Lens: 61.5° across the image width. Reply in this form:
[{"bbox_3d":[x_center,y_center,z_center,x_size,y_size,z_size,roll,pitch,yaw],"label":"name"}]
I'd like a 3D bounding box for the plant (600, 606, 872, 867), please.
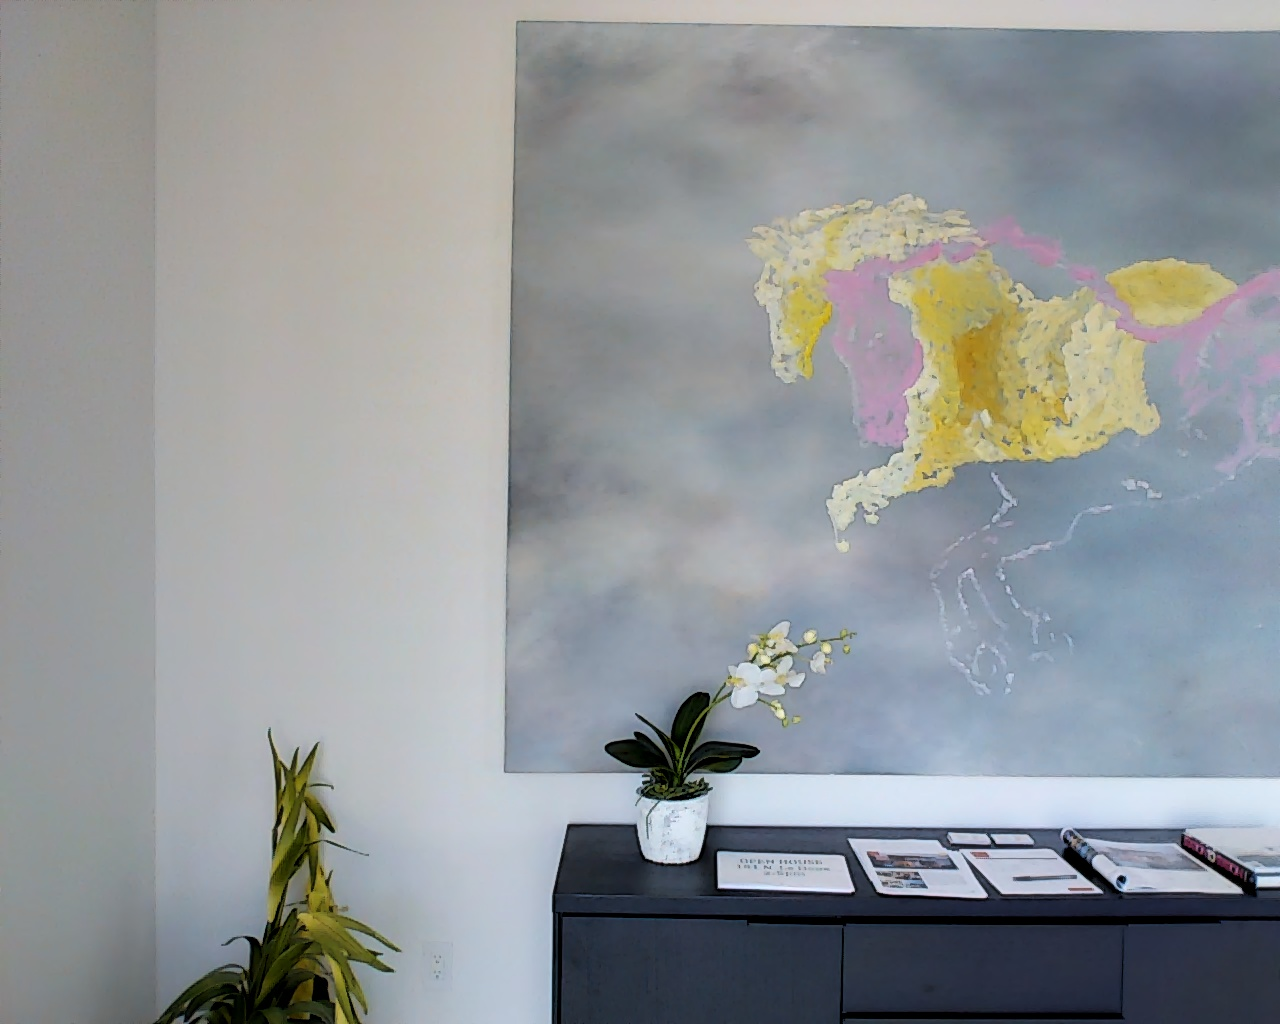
[{"bbox_3d":[0.220,0.520,2.590,0.610,0.550,0.320,0,1,2],"label":"plant"}]

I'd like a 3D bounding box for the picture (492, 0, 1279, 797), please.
[{"bbox_3d":[0.760,-0.310,2.680,2.219,1.981,0.190,0,1,1],"label":"picture"}]

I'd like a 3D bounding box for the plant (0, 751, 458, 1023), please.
[{"bbox_3d":[-0.860,1.070,2.400,0.770,0.880,0.800,0,1,0],"label":"plant"}]
